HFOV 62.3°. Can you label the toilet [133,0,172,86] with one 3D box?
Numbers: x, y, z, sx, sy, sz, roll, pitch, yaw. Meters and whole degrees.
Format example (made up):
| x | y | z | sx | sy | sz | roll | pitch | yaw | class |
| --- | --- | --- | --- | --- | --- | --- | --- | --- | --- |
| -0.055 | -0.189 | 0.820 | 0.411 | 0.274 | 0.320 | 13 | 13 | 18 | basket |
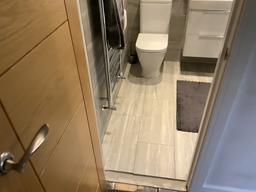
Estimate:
| x | y | z | sx | sy | sz | roll | pitch | yaw | class |
| --- | --- | --- | --- | --- | --- | --- | --- | --- | --- |
| 0.280 | -0.630 | 2.430 | 0.360 | 0.800 | 0.600 | 5 | 38 | 8 | toilet |
